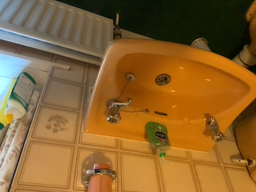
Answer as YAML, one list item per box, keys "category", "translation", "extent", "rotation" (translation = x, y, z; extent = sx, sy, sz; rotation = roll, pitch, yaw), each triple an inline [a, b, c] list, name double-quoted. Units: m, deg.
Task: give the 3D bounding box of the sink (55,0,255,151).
- category: "sink"
  translation: [0.100, -0.050, 0.770]
  extent: [0.620, 0.250, 0.410]
  rotation: [11, 134, -17]
